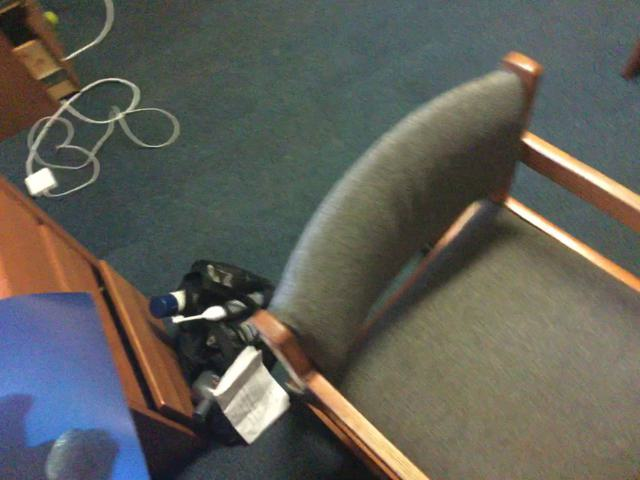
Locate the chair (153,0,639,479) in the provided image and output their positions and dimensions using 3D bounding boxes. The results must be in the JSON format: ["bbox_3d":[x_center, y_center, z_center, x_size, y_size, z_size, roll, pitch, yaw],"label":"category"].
[{"bbox_3d":[0.310,0.210,0.920,0.660,0.720,0.620,-43,67,-12],"label":"chair"}]
